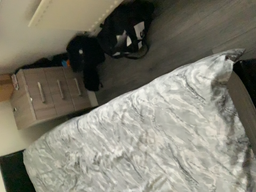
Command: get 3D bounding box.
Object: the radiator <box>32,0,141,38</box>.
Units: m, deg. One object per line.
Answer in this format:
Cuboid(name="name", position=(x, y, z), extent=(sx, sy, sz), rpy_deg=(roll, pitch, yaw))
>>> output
Cuboid(name="radiator", position=(-0.120, -0.660, 1.270), extent=(1.060, 0.550, 0.100), rpy_deg=(-26, 81, 46))
